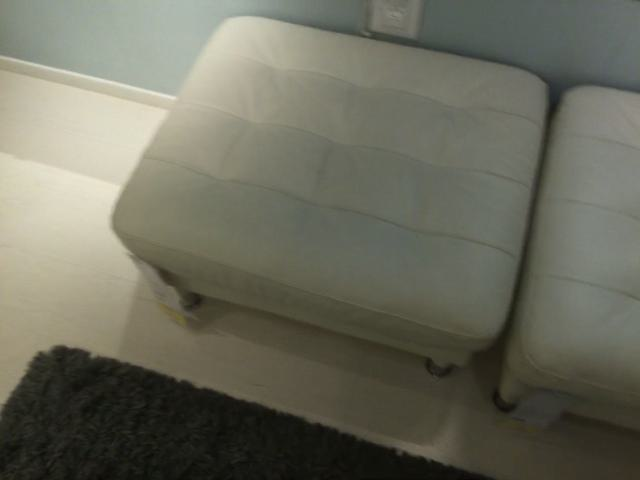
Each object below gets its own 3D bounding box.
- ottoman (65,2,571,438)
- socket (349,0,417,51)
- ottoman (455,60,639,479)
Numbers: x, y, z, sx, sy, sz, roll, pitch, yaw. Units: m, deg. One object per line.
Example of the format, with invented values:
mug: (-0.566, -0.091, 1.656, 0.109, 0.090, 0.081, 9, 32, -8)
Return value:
ottoman: (0.040, -0.070, 1.300, 0.800, 0.500, 0.630, 16, 54, 12)
socket: (0.130, -0.490, 1.180, 0.130, 0.190, 0.030, 16, 54, 12)
ottoman: (0.800, 0.150, 1.100, 0.870, 0.510, 0.660, 16, 54, 12)
